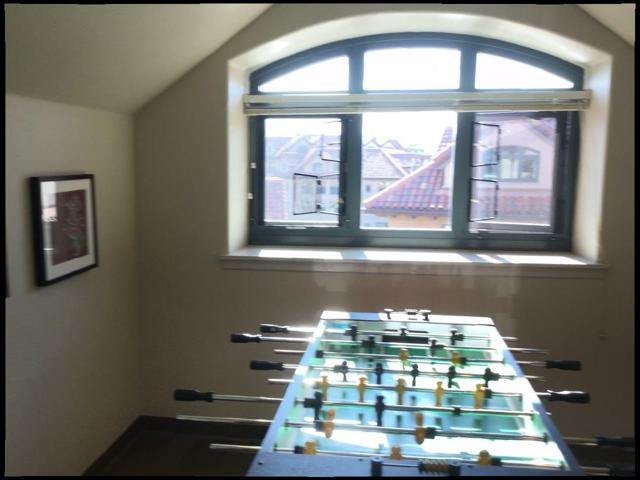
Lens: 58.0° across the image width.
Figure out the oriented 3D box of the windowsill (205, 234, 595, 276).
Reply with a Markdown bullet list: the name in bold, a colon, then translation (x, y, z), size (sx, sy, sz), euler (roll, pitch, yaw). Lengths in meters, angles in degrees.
- **windowsill**: translation (0.399, 0.070, 3.180), size (1.976, 0.080, 0.450), euler (2, 9, 6)

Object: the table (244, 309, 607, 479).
- **table**: translation (0.269, 0.882, 1.900), size (0.778, 0.922, 1.440), euler (2, 9, 4)

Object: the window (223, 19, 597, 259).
- **window**: translation (0.449, -0.571, 3.300), size (1.966, 1.252, 0.300), euler (2, 9, 6)
